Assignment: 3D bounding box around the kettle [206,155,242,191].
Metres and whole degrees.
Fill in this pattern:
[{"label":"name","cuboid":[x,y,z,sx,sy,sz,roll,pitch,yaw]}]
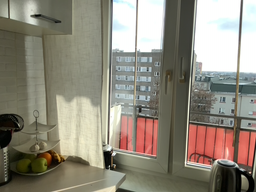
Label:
[{"label":"kettle","cuboid":[0.510,0.450,1.130,0.150,0.190,0.150,6,8,28]}]
